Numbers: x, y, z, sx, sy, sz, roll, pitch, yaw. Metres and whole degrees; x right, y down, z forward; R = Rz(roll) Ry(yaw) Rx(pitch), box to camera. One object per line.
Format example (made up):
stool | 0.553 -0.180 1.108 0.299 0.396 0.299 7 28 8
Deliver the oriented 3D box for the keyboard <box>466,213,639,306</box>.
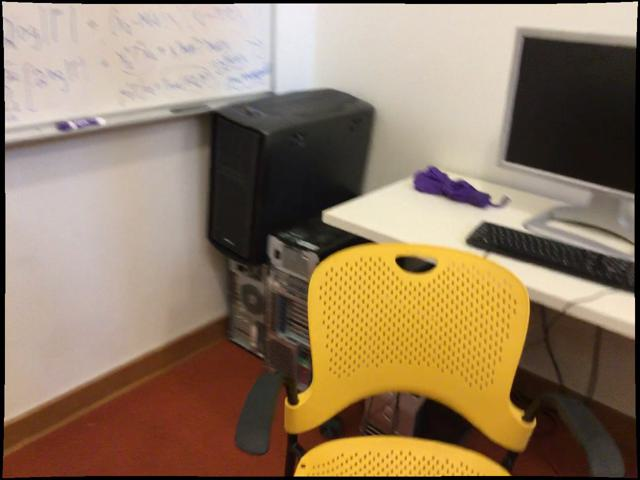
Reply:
keyboard | 0.599 0.040 1.400 0.450 0.030 0.170 24 32 33
